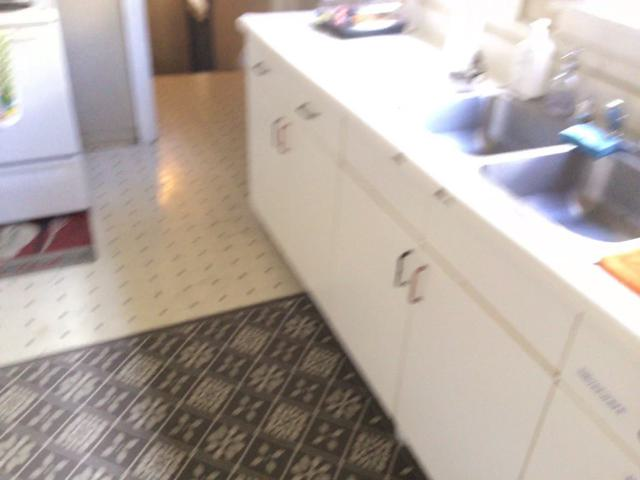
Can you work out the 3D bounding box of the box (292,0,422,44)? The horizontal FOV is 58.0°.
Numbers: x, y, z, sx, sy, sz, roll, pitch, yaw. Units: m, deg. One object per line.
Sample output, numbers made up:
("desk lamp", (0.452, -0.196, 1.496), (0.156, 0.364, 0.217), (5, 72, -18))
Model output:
("box", (0.130, -0.870, 2.230), (0.330, 0.120, 0.410), (-10, 34, -25))
